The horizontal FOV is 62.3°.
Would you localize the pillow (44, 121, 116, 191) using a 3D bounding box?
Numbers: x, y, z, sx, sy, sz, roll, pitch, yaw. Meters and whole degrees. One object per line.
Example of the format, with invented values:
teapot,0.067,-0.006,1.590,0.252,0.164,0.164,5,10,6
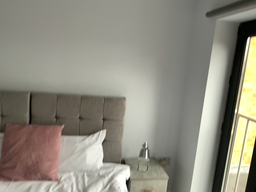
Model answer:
pillow,-0.440,0.560,2.020,0.480,0.450,0.240,-27,4,-7
